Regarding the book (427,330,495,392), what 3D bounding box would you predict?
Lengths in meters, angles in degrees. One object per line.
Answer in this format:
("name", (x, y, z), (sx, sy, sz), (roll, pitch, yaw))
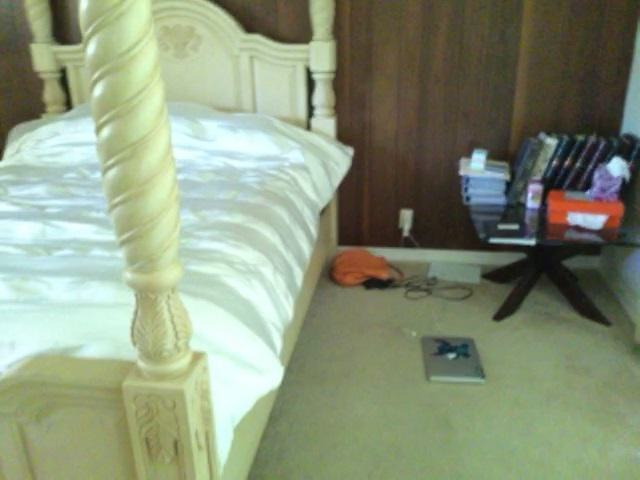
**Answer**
("book", (0.560, 0.480, 2.340), (0.240, 0.050, 0.360), (1, 21, 9))
